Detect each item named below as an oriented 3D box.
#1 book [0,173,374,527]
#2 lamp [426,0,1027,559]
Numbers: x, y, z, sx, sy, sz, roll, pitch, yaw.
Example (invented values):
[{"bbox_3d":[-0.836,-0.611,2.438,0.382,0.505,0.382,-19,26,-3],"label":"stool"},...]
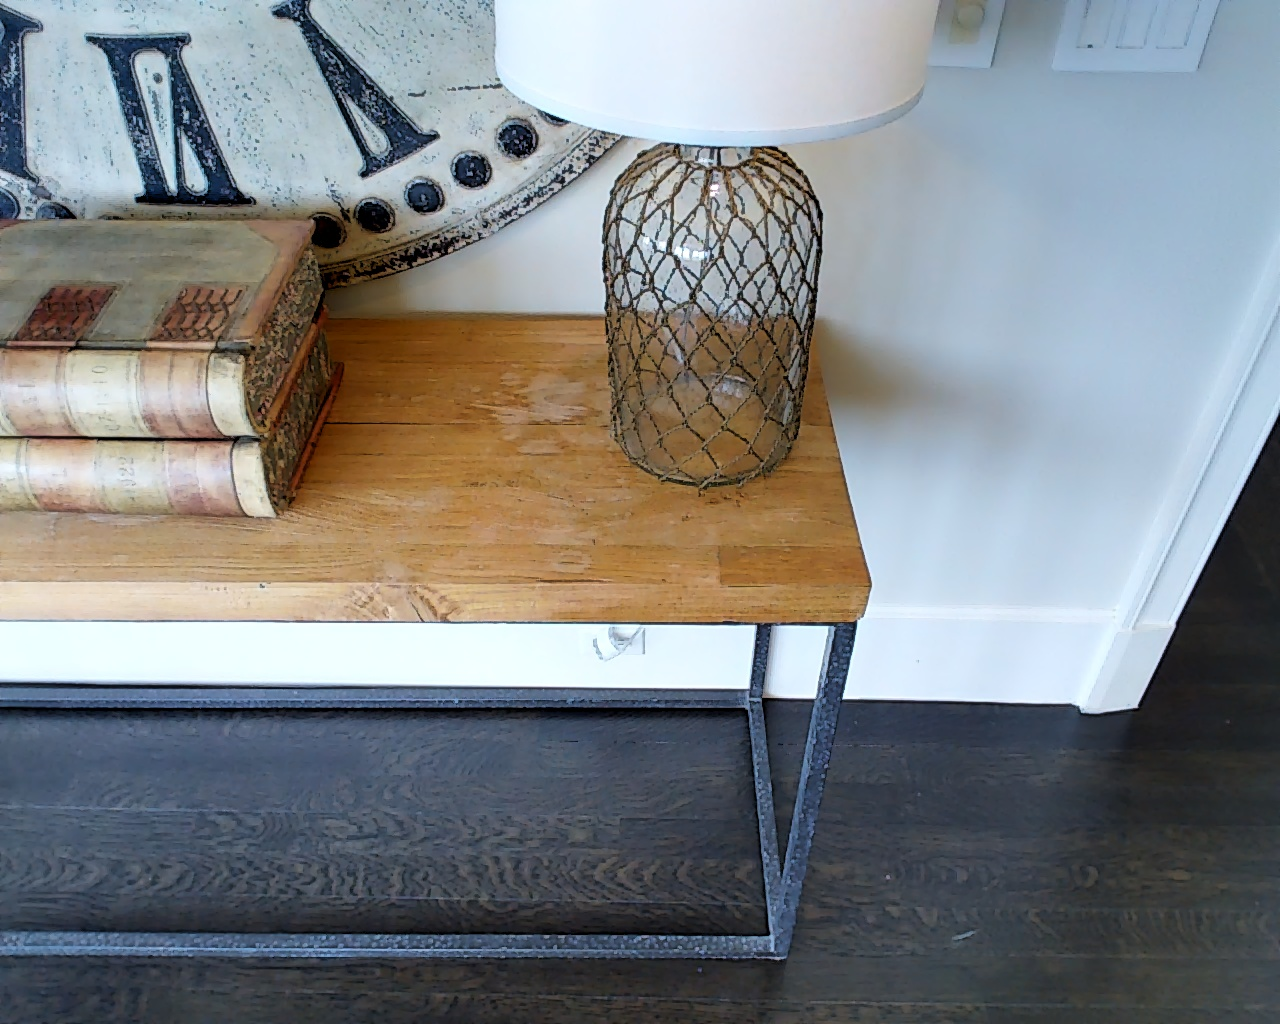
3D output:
[{"bbox_3d":[-0.590,-0.200,1.230,0.460,0.200,0.410,1,42,0],"label":"book"},{"bbox_3d":[0.060,-0.340,1.010,0.420,0.710,0.360,1,42,0],"label":"lamp"}]
